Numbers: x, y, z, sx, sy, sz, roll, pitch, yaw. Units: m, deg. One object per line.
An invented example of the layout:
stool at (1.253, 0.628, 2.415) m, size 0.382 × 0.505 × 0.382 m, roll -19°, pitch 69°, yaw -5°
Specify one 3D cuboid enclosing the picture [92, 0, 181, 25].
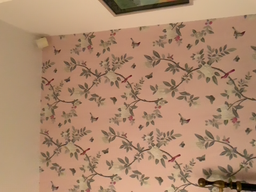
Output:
picture at (0.040, -0.480, 1.030) m, size 0.620 × 0.390 × 0.040 m, roll -4°, pitch -87°, yaw -73°
